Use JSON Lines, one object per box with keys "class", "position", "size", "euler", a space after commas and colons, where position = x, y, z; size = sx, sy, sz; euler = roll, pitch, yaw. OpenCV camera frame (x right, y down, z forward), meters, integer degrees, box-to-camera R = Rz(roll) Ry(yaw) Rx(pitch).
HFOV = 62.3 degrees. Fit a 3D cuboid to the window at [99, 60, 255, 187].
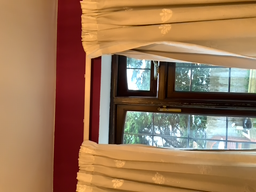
{"class": "window", "position": [0.390, 0.140, 1.230], "size": [0.080, 1.120, 0.680], "euler": [-7, -82, -80]}
